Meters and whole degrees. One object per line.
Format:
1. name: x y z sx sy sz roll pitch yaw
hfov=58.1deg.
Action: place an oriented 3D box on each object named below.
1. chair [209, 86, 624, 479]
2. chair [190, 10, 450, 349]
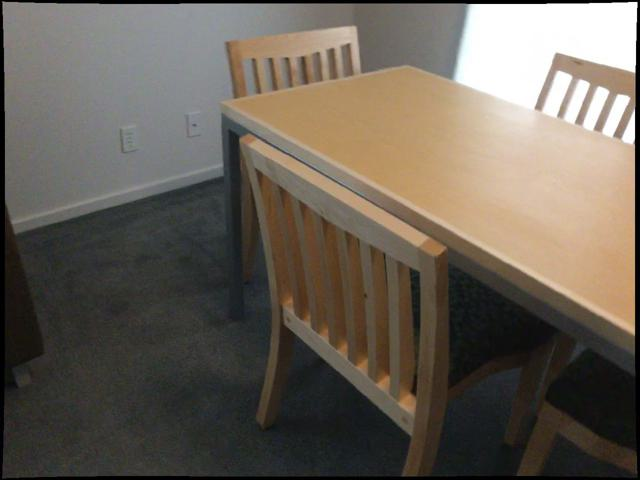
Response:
1. chair: 0.180 0.180 1.430 0.609 0.932 0.630 -19 33 -36
2. chair: 0.020 -0.251 1.990 0.569 0.922 0.580 -23 33 -31
